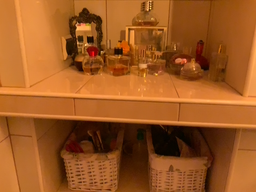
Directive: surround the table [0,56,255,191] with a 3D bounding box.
[{"bbox_3d":[0.060,0.410,0.870,0.770,1.040,0.480,3,19,5],"label":"table"}]
